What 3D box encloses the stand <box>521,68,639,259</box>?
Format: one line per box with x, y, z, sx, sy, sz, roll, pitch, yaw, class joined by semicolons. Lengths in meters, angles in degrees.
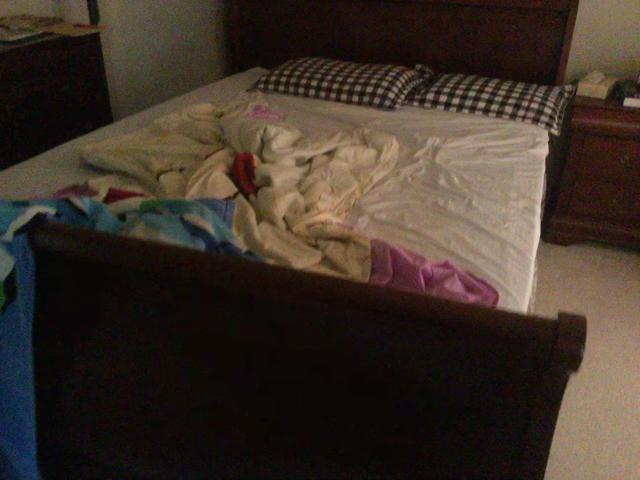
1.290;-0.340;2.540;0.650;0.680;0.420;10;29;16;stand
